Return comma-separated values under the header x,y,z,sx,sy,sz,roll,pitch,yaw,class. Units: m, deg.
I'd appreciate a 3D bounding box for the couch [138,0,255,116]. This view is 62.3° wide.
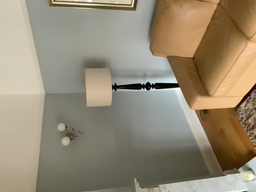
x,y,z,sx,sy,sz,roll,pitch,yaw,class
0.740,-0.730,1.770,1.570,0.840,1.020,103,160,-49,couch

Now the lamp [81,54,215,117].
x,y,z,sx,sy,sz,roll,pitch,yaw,class
0.190,-0.150,2.640,0.510,1.490,0.540,102,160,-48,lamp
